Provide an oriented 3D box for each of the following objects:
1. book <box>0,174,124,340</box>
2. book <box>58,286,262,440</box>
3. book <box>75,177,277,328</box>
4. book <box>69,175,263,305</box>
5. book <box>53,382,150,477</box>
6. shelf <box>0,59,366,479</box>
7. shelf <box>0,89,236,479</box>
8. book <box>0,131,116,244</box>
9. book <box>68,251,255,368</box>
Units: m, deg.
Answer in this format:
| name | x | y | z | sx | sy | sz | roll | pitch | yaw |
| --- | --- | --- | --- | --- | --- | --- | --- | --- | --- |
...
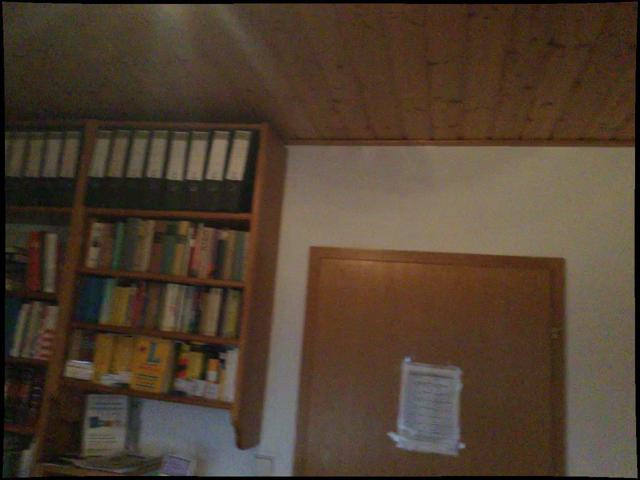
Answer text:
| name | x | y | z | sx | sy | sz | roll | pitch | yaw |
| --- | --- | --- | --- | --- | --- | --- | --- | --- | --- |
| book | -1.319 | 0.020 | 2.350 | 0.869 | 0.550 | 0.260 | 14 | -6 | 15 |
| book | -0.589 | 0.440 | 2.160 | 0.630 | 0.290 | 0.260 | 23 | -3 | 16 |
| book | -0.549 | 0.050 | 2.230 | 0.660 | 0.310 | 0.240 | 25 | -3 | 16 |
| book | -0.579 | 0.000 | 2.180 | 0.670 | 0.220 | 0.190 | 24 | -3 | 15 |
| book | -0.839 | 0.721 | 2.230 | 0.210 | 0.260 | 0.160 | 25 | -3 | 16 |
| shelf | -0.559 | 0.150 | 2.200 | 0.939 | 1.341 | 0.410 | 24 | -3 | 15 |
| shelf | -1.259 | 0.571 | 2.270 | 1.219 | 2.222 | 0.420 | 13 | -6 | 15 |
| book | -1.299 | -0.290 | 2.410 | 0.840 | 0.240 | 0.250 | 26 | -2 | 16 |
| book | -0.589 | 0.250 | 2.140 | 0.649 | 0.260 | 0.110 | 14 | -6 | 15 |
